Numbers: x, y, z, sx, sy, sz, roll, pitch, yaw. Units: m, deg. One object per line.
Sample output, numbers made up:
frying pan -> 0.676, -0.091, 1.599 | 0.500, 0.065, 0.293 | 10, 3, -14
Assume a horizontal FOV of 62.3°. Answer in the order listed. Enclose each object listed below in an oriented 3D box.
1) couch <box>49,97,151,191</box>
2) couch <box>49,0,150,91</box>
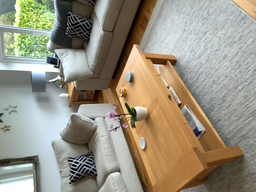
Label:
couch -> -0.430, 1.210, 2.860 | 1.050, 0.930, 2.250 | -63, 38, 41
couch -> -0.480, -1.180, 2.970 | 2.150, 0.910, 1.030 | -62, 39, 42
